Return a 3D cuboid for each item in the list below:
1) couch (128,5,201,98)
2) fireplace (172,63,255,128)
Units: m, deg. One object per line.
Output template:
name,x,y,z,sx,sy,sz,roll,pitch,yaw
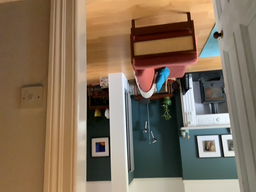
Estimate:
couch,0.500,-0.520,3.200,0.780,0.770,1.540,-4,169,7
fireplace,2.060,0.070,5.180,1.800,1.300,1.020,-4,169,8
